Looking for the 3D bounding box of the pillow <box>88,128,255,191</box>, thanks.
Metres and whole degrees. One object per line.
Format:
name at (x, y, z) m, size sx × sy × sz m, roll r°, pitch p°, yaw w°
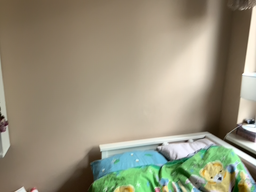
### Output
pillow at (0.280, 0.470, 1.360) m, size 0.970 × 0.240 × 0.640 m, roll -3°, pitch 13°, yaw -18°
